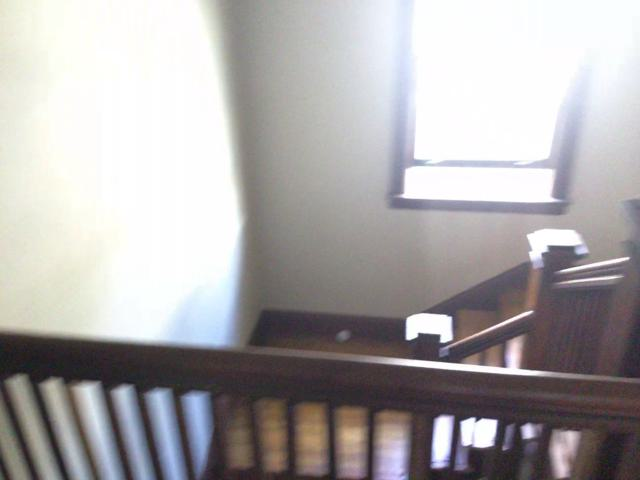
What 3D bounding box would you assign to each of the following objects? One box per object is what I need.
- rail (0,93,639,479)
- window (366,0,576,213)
[{"bbox_3d":[0.640,1.050,2.300,2.710,2.810,1.910,-1,23,11],"label":"rail"},{"bbox_3d":[0.840,-0.910,3.330,1.070,1.470,0.300,-1,23,11],"label":"window"}]
